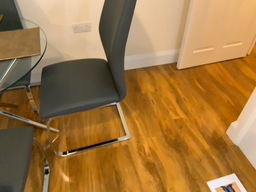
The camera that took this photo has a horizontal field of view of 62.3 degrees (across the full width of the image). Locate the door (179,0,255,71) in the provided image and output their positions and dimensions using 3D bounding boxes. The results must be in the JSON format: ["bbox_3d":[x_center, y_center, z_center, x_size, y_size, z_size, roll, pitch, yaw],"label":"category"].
[{"bbox_3d":[0.940,-1.060,1.590,0.810,1.960,0.030,-14,46,-17],"label":"door"}]
